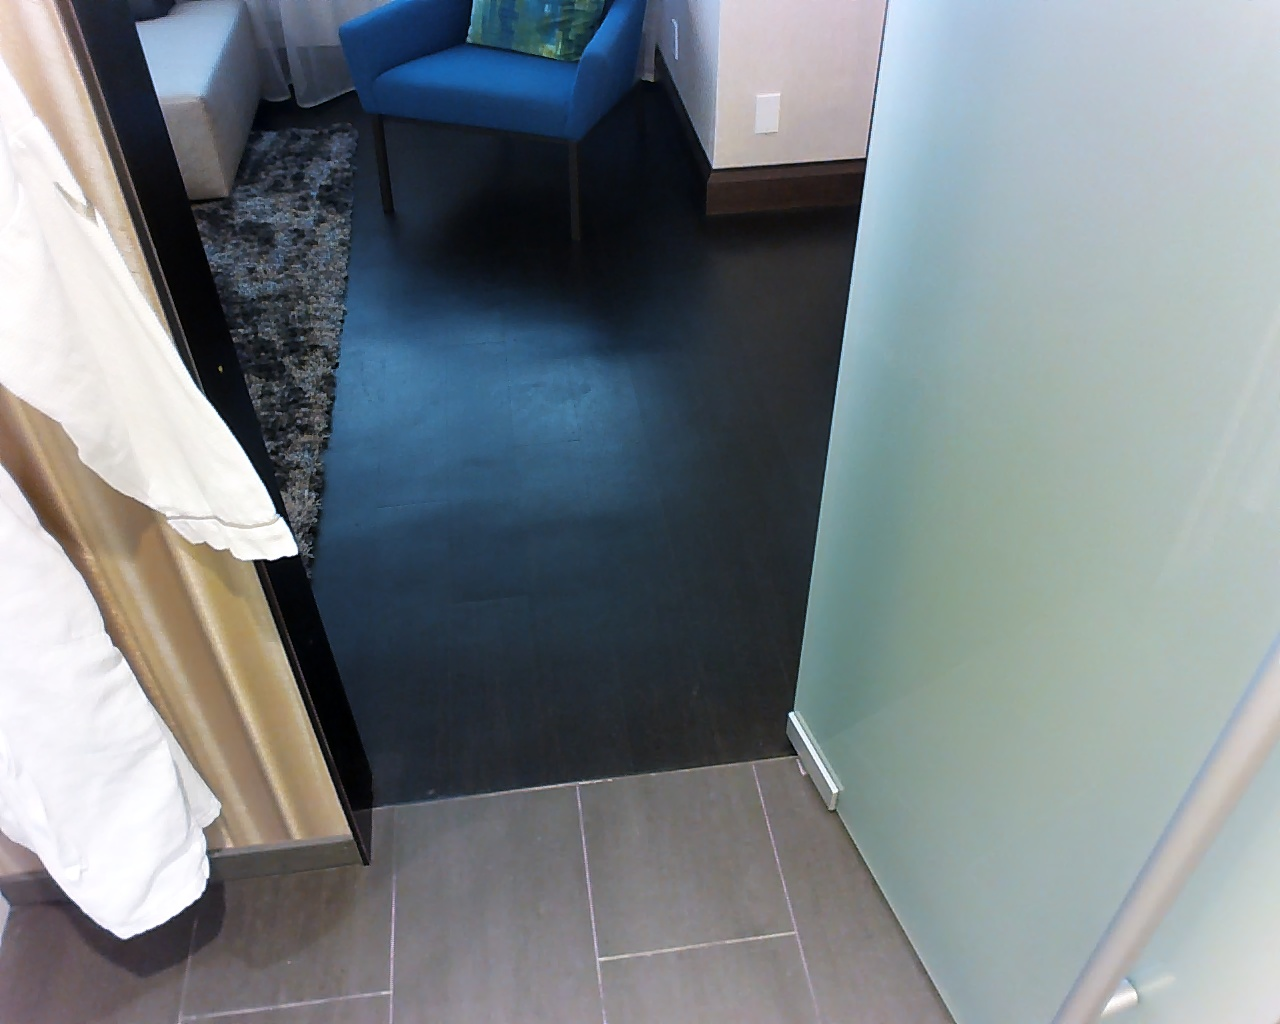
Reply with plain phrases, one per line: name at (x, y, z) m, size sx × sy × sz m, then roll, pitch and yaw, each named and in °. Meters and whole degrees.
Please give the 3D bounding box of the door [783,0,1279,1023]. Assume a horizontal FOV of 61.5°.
door at (0.400, -0.180, 0.850) m, size 0.050 × 2.240 × 0.790 m, roll -15°, pitch 44°, yaw -15°
